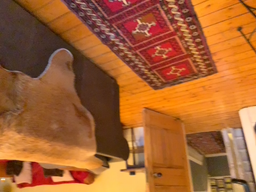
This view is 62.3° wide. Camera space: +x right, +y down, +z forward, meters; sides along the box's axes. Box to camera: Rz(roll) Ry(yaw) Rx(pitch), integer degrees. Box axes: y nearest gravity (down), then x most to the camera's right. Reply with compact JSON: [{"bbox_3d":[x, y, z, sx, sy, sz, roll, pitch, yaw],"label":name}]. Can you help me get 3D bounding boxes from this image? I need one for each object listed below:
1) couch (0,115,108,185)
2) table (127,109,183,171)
[{"bbox_3d":[-1.560,1.090,3.820,2.130,0.860,1.090,-14,154,24],"label":"couch"},{"bbox_3d":[0.390,0.700,3.280,0.720,0.800,0.340,-13,154,23],"label":"table"}]
